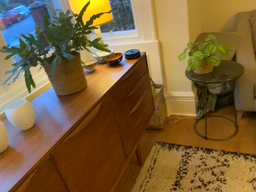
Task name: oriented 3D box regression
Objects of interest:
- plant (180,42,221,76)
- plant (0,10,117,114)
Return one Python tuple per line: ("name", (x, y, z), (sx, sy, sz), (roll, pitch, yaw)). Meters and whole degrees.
("plant", (0.550, -0.280, 1.600), (0.260, 0.180, 0.210), (4, 32, 27))
("plant", (-0.420, -0.220, 1.210), (0.450, 0.360, 0.530), (4, 32, 27))
